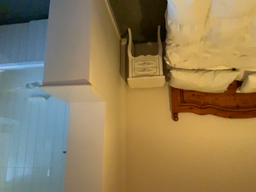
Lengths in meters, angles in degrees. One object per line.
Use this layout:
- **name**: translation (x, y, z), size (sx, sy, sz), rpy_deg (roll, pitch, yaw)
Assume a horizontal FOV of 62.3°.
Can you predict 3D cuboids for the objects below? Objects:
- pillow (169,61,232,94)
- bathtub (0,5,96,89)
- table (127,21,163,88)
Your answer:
- **pillow**: translation (0.760, -0.190, 2.340), size (0.570, 0.200, 0.430), rpy_deg (-3, 166, 8)
- **bathtub**: translation (-1.300, -0.500, 2.540), size (1.640, 0.590, 0.770), rpy_deg (-3, 166, 8)
- **table**: translation (0.210, -0.480, 2.580), size (0.380, 0.650, 0.440), rpy_deg (-3, 166, 8)
